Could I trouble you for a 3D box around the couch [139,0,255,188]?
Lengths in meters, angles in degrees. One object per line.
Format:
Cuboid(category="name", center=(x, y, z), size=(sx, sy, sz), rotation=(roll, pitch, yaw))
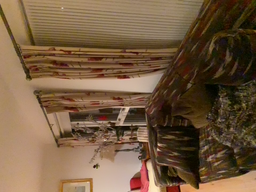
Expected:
Cuboid(category="couch", center=(0.840, 0.050, 1.890), size=(2.490, 0.790, 1.180), rotation=(112, 155, -61))
